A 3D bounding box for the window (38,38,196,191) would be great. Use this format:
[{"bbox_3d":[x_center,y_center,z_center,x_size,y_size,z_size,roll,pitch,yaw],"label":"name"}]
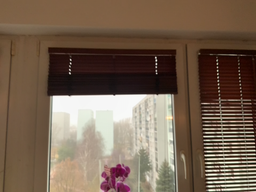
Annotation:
[{"bbox_3d":[-0.060,0.320,1.240,0.870,1.340,0.090,0,-7,-2],"label":"window"}]
